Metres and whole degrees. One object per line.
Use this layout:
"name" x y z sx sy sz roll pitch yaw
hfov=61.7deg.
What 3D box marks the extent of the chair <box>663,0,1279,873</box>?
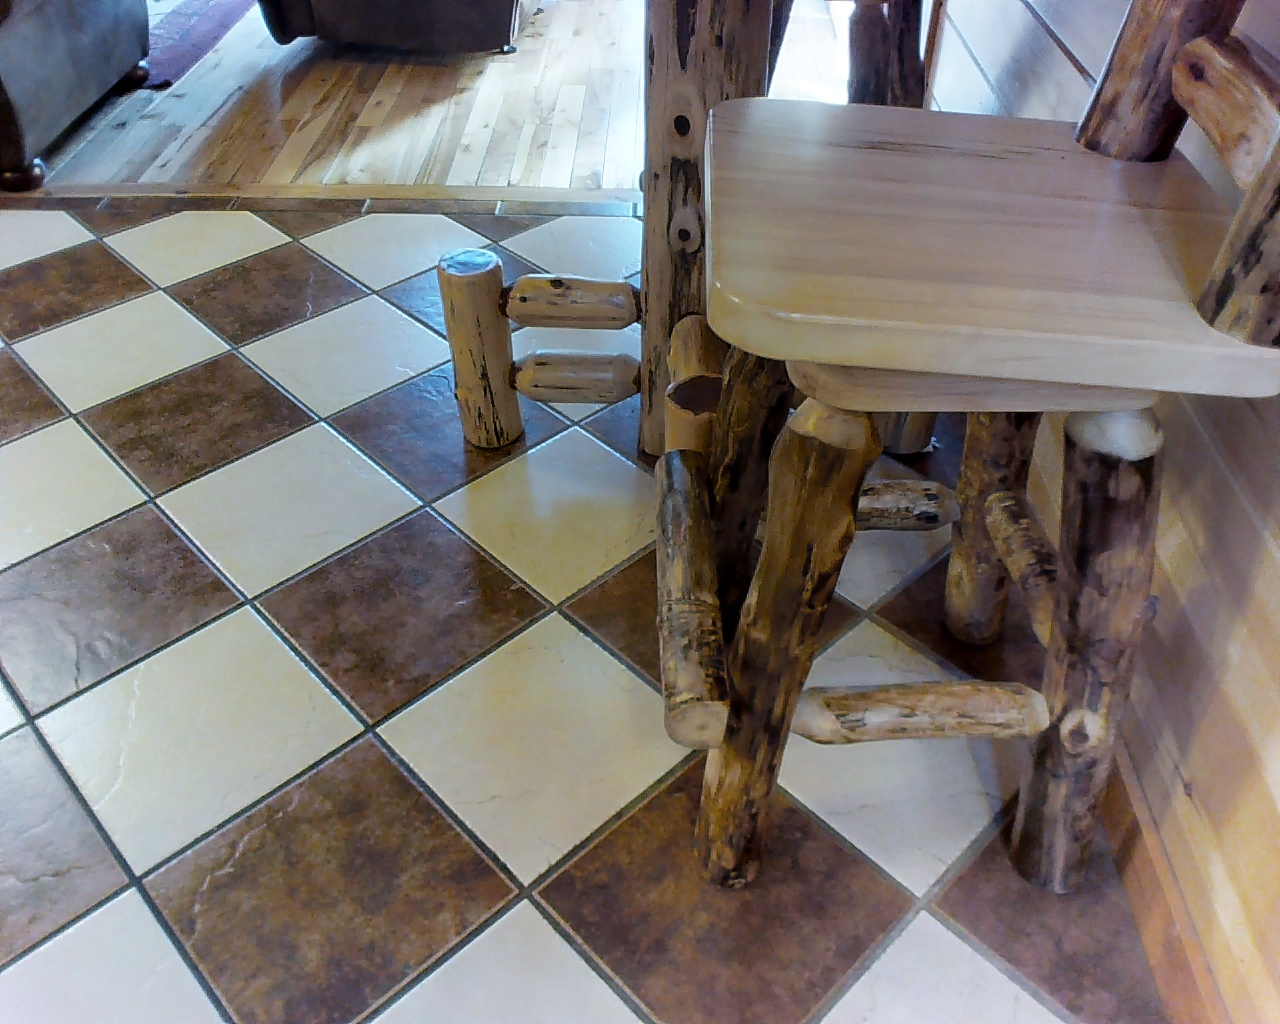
"chair" 0.340 -0.180 1.090 0.610 1.190 0.500 1 42 1
